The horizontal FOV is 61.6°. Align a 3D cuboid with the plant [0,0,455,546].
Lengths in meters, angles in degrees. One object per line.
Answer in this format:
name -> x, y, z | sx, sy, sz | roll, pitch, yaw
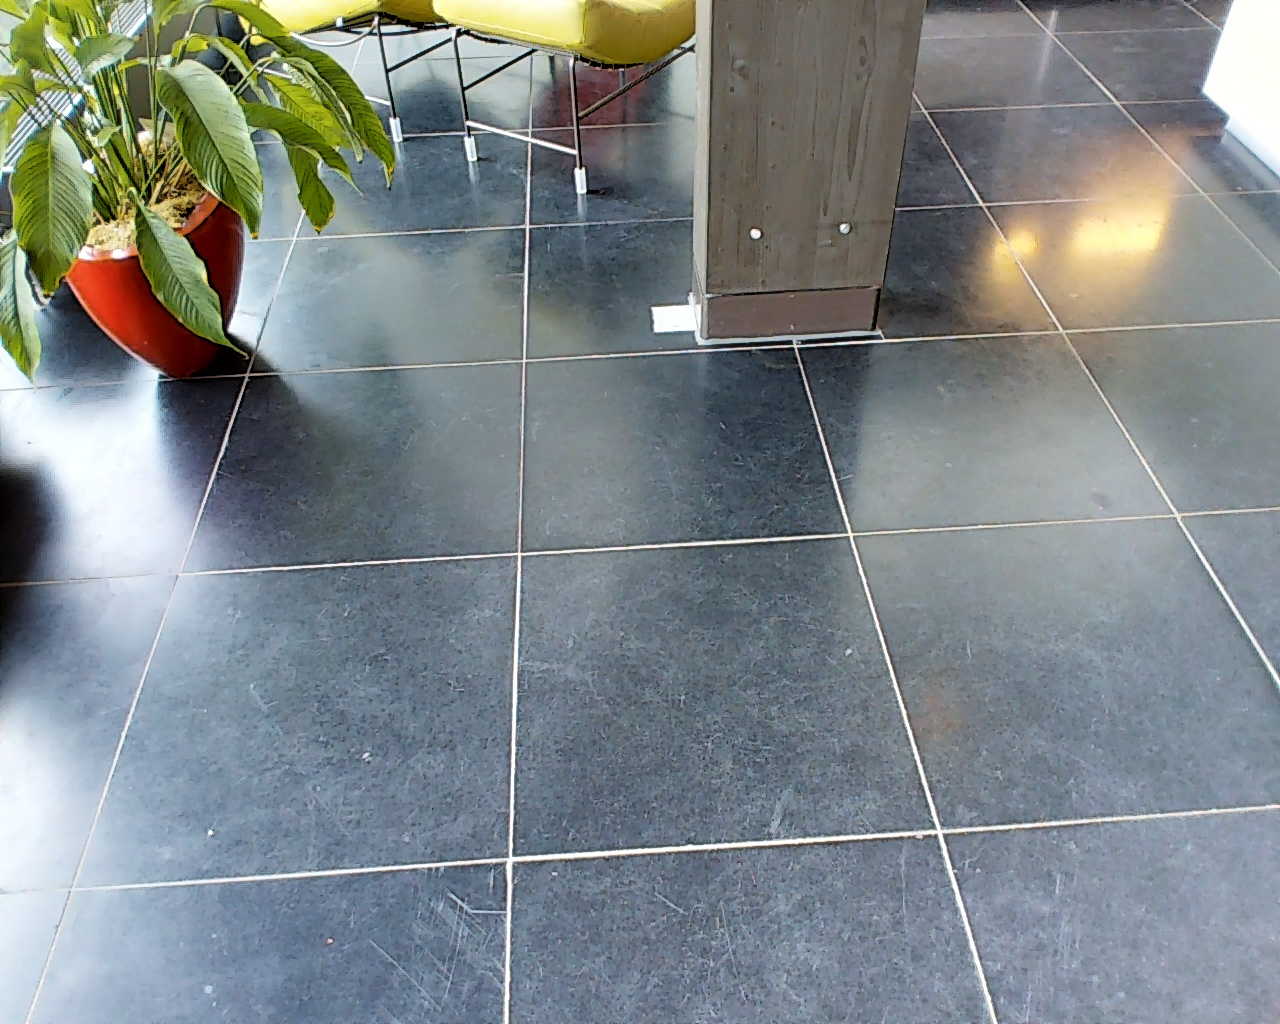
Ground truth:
plant -> -0.980, -0.790, 2.060 | 1.020, 1.090, 1.290 | -4, 43, -2
